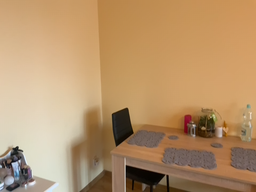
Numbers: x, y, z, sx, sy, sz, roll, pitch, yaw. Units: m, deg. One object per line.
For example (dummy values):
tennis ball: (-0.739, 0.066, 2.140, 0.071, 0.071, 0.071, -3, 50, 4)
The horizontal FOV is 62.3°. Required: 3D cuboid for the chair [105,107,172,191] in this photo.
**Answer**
chair: (0.120, 0.660, 2.230, 0.500, 0.950, 0.480, 6, 13, 31)
